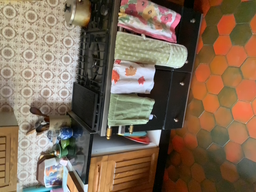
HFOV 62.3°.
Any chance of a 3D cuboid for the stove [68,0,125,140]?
[{"bbox_3d":[-0.290,-0.270,1.670,0.680,0.080,1.020,23,108,55],"label":"stove"}]
